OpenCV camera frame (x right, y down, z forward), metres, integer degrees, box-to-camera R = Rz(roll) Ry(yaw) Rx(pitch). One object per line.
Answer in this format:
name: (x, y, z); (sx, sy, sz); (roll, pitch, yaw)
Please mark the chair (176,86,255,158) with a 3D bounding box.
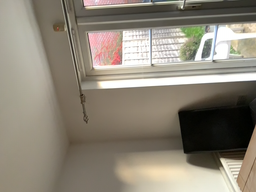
chair: (1.050, 0.250, 1.820); (0.680, 1.080, 0.480); (85, -178, -73)
